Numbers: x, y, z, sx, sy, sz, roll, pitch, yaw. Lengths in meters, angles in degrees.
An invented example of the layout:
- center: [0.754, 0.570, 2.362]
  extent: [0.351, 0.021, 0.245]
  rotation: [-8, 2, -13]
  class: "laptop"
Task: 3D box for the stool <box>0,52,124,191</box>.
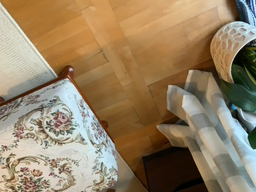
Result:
- center: [-0.310, 0.170, 0.830]
  extent: [0.420, 0.350, 0.440]
  rotation: [-22, 125, 7]
  class: "stool"
